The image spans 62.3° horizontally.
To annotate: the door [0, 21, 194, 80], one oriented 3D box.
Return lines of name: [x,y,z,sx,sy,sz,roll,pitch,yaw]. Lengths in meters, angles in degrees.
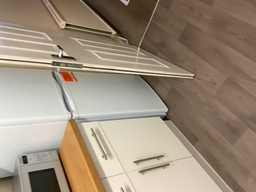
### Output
door: [-0.490,-0.310,1.300,0.700,2.010,0.050,42,123,46]
